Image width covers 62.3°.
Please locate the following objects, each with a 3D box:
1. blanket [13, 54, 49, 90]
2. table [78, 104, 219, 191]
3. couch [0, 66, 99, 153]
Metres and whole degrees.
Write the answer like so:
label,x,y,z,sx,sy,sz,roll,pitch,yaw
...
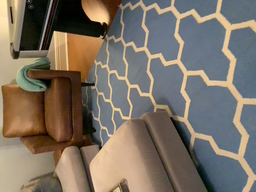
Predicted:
label,x,y,z,sx,sy,sz,roll,pitch,yaw
blanket,-1.000,-0.230,2.170,0.450,0.250,0.330,5,95,55
table,0.150,0.730,1.210,0.720,0.400,1.140,-52,51,42
couch,-0.900,0.110,2.370,0.870,0.830,0.730,0,91,55
